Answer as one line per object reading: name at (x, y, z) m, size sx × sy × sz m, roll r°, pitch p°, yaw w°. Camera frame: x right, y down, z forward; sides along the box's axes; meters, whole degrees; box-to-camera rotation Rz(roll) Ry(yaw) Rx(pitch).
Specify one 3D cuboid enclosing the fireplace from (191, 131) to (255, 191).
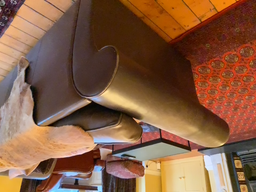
fireplace at (2.220, 1.420, 3.740) m, size 1.770 × 1.320 × 0.810 m, roll -24°, pitch 144°, yaw 37°

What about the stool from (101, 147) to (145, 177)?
stool at (-0.110, 1.470, 4.650) m, size 0.700 × 0.460 × 0.650 m, roll -24°, pitch 144°, yaw 36°
